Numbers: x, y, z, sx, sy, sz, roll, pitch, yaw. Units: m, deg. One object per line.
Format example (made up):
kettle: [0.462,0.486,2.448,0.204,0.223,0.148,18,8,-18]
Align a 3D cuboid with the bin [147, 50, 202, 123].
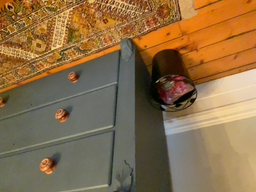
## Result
bin: [0.260,-0.050,1.210,0.220,0.290,0.230,-16,136,17]
